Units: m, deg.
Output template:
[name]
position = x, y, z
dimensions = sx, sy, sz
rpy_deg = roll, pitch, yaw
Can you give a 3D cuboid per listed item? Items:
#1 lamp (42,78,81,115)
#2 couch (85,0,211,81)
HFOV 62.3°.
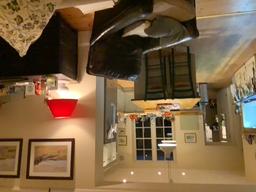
[lamp]
position = -0.870, 0.020, 2.830
dimensions = 0.370, 0.440, 0.360
rpy_deg = -3, 172, 8
[couch]
position = 0.150, -0.710, 2.250
dimensions = 0.820, 0.840, 1.020
rpy_deg = 5, 170, -37
